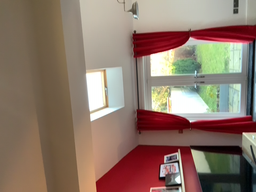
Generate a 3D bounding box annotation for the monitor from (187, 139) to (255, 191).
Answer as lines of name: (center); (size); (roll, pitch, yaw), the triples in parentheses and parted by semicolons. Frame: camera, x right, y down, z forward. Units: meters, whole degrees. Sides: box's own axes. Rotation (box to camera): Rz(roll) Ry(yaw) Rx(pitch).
monitor: (1.390, 0.970, 3.030); (1.650, 0.890, 0.110); (-44, -48, -76)
